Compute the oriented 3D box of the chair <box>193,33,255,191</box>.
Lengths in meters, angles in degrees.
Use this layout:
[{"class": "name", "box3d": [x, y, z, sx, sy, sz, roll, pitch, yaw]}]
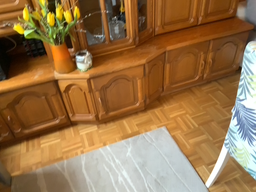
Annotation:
[{"class": "chair", "box3d": [0.720, 0.220, 0.990, 0.500, 0.960, 0.460, -18, 42, -15]}]
